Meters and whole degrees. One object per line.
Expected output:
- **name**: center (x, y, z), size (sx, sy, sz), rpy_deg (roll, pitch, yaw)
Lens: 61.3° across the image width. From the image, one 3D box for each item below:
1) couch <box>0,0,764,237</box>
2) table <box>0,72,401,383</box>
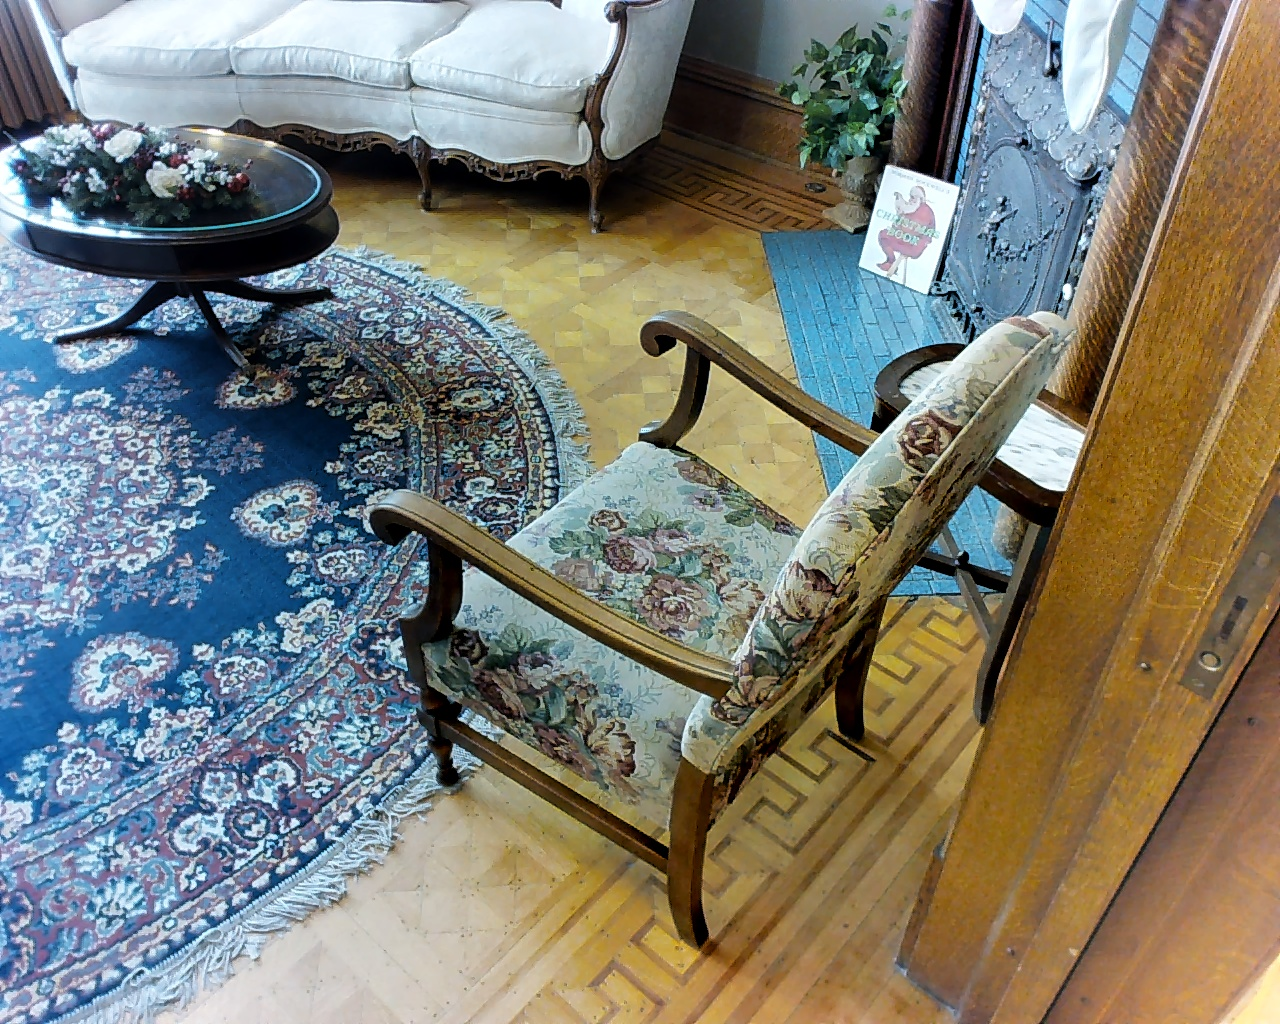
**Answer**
- **couch**: center (-0.800, -1.670, 3.450), size (2.290, 0.880, 1.190), rpy_deg (7, 43, 8)
- **table**: center (-1.150, -0.720, 2.690), size (0.900, 0.500, 0.540), rpy_deg (5, 43, 6)
